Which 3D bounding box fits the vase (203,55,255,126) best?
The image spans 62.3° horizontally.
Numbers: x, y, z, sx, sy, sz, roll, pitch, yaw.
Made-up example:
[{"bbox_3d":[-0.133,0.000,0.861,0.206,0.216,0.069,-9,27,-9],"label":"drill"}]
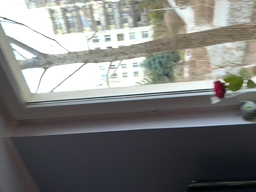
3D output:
[{"bbox_3d":[0.670,-0.040,0.950,0.180,0.580,0.250,-90,-5,-56],"label":"vase"}]
